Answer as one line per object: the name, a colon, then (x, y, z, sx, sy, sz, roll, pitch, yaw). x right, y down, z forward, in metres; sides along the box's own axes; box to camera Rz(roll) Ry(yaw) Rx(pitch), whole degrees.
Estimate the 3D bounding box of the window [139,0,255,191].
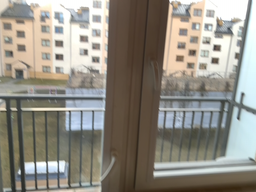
window: (0.600, -0.140, 1.060, 0.960, 1.650, 0.140, 2, 13, -11)
